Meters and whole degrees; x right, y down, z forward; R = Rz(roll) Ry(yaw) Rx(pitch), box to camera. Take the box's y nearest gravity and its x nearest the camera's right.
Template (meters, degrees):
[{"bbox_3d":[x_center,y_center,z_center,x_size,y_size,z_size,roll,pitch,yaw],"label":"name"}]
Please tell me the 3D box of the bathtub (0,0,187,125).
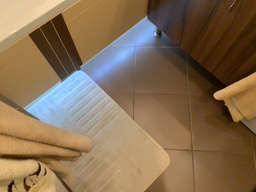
[{"bbox_3d":[-0.310,-0.600,1.170,1.360,0.620,0.670,-40,74,-14],"label":"bathtub"}]
